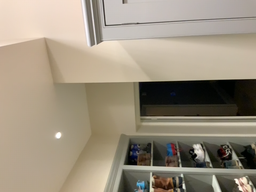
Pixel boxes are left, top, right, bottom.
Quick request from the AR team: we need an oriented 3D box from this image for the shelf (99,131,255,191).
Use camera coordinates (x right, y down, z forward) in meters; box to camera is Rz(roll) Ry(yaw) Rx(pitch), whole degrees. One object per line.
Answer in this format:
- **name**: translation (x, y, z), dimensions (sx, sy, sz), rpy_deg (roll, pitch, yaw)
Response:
- **shelf**: translation (0.920, 0.830, 2.130), dimensions (1.230, 2.210, 0.380), rpy_deg (-70, -22, -70)
